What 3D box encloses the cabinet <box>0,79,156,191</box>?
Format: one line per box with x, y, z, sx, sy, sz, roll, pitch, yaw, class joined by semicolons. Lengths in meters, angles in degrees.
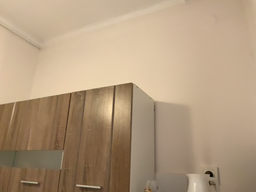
-0.450;0.300;1.360;1.210;0.570;0.320;-7;-21;25;cabinet
